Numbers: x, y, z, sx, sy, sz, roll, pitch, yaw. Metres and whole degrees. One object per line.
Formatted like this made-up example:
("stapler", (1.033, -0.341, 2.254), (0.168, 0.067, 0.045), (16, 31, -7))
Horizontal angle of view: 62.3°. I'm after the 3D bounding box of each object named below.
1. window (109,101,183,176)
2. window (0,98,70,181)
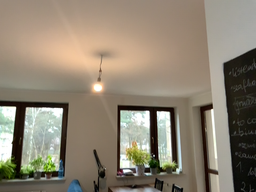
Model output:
("window", (0.410, 0.930, 4.790), (1.610, 1.560, 0.240), (3, -11, -13))
("window", (-1.920, 0.800, 4.020), (1.510, 1.500, 0.110), (3, -11, -12))
